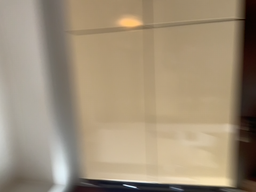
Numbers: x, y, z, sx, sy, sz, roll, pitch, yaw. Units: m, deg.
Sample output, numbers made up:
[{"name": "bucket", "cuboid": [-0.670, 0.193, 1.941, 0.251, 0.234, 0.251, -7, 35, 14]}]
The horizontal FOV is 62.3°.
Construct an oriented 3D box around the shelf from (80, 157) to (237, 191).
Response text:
[{"name": "shelf", "cuboid": [0.170, 0.570, 1.330, 0.310, 0.850, 0.230, -51, -42, -74]}]
